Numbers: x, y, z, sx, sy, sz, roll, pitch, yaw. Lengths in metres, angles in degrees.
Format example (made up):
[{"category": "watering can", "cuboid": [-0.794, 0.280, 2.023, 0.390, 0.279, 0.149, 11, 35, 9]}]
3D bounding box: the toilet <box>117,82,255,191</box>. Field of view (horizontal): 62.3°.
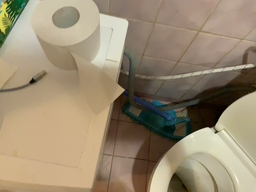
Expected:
[{"category": "toilet", "cuboid": [0.370, 0.280, 0.830, 0.670, 0.810, 0.380, -31, 77, -17]}]
